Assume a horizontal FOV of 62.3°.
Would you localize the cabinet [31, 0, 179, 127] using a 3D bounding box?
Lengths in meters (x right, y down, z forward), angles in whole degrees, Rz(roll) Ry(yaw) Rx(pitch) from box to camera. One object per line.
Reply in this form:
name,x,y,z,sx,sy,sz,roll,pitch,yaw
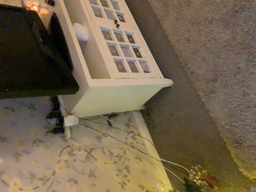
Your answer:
cabinet,-0.230,-0.410,1.660,0.460,0.700,1.110,-45,60,43
